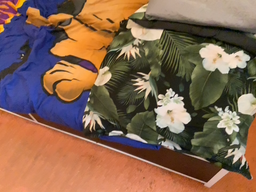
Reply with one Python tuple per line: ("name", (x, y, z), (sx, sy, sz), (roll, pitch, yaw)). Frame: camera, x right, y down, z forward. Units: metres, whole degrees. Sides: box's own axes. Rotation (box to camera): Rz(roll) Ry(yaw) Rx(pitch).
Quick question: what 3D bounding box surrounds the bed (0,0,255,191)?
("bed", (-0.410, -0.340, 1.390), (2.170, 0.450, 1.070), (16, 59, 14))
